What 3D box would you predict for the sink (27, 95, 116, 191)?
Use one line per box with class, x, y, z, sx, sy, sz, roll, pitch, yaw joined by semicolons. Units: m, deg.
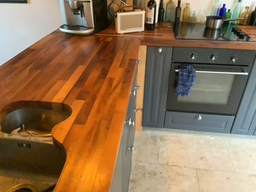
sink;-0.150;0.160;0.720;0.150;0.110;0.430;4;32;5
